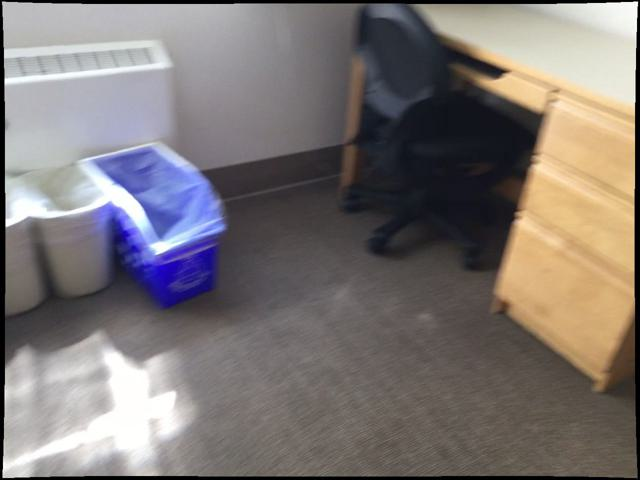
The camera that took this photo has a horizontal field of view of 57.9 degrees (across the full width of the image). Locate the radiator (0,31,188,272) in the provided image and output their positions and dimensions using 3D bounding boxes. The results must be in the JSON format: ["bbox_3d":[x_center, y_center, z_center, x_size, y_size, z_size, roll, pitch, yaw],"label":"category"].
[{"bbox_3d":[-0.929,-0.220,1.670,1.049,0.620,0.170,-17,41,-28],"label":"radiator"}]

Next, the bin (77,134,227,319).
[{"bbox_3d":[-0.509,-0.060,1.760,0.290,0.330,0.430,-17,41,-28],"label":"bin"}]

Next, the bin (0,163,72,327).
[{"bbox_3d":[-0.899,0.020,1.600,0.290,0.320,0.290,-17,41,-28],"label":"bin"}]

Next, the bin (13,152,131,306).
[{"bbox_3d":[-0.729,-0.040,1.710,0.220,0.320,0.270,-17,41,-28],"label":"bin"}]

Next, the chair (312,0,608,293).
[{"bbox_3d":[0.400,-0.400,1.990,0.560,0.841,0.620,-17,41,-28],"label":"chair"}]
